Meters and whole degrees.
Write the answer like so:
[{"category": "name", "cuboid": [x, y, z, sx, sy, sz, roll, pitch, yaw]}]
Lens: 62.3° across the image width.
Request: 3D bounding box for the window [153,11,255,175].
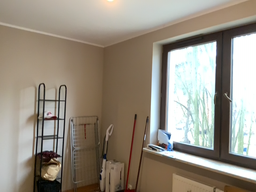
[{"category": "window", "cuboid": [0.990, -0.040, 2.560, 0.270, 1.570, 1.600, 4, -2, -37]}]
